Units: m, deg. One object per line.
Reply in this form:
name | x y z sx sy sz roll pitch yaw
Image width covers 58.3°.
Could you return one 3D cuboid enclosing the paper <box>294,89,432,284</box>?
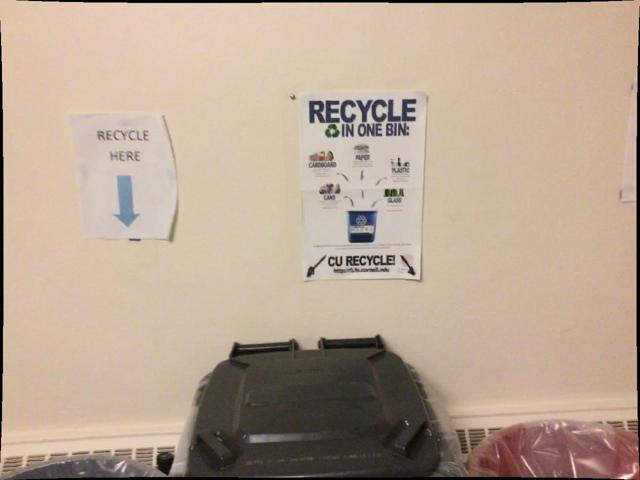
paper | 0.100 -0.120 1.320 0.300 0.430 0.050 -3 15 -3
